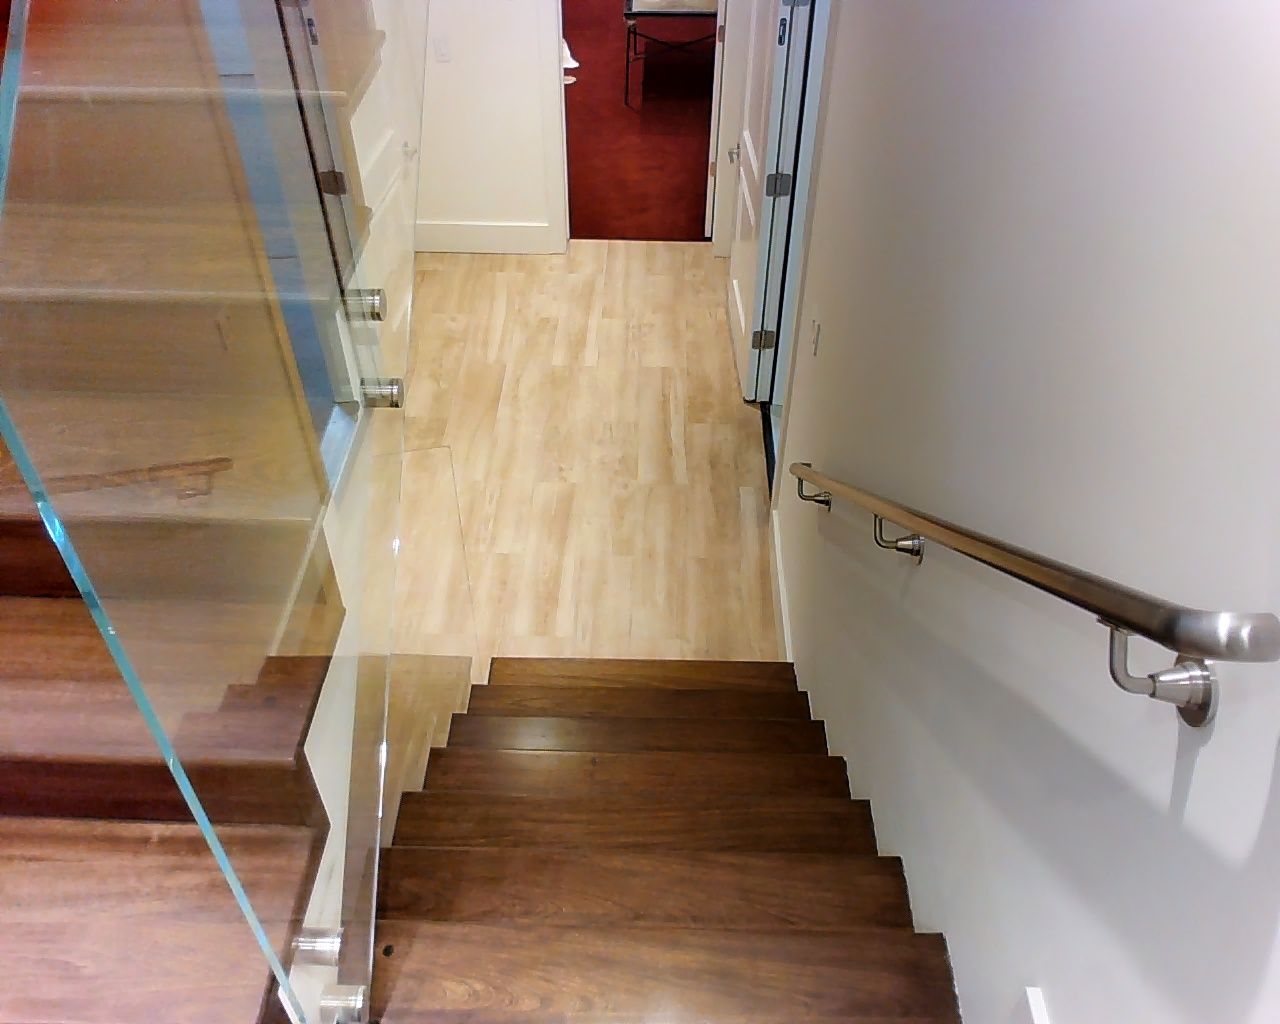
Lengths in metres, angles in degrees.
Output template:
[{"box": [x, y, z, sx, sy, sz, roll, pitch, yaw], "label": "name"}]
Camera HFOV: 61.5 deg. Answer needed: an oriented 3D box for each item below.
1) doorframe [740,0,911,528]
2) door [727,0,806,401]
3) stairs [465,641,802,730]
[{"box": [0.640, -1.040, 4.170, 0.320, 2.170, 0.900, 1, 42, 1], "label": "doorframe"}, {"box": [0.540, -1.670, 4.780, 0.090, 2.180, 0.990, -2, 42, -2], "label": "door"}, {"box": [-0.020, 0.610, 3.780, 1.140, 0.250, 0.160, 1, 42, 1], "label": "stairs"}]
